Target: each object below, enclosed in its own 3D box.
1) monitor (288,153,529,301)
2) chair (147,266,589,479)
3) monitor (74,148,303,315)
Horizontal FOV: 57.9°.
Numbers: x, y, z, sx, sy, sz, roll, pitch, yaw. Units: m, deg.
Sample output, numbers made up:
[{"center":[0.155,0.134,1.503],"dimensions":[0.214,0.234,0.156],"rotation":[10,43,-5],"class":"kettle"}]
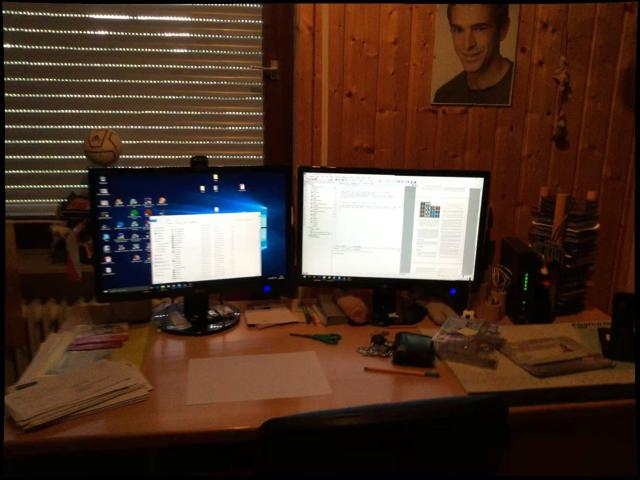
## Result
[{"center":[0.230,-0.040,1.600],"dimensions":[0.609,0.350,0.180],"rotation":[-2,17,0],"class":"monitor"},{"center":[0.050,0.641,1.240],"dimensions":[0.649,0.961,0.600],"rotation":[-6,17,-11],"class":"chair"},{"center":[-0.320,-0.030,1.500],"dimensions":[0.520,0.360,0.140],"rotation":[-6,17,-10],"class":"monitor"}]
